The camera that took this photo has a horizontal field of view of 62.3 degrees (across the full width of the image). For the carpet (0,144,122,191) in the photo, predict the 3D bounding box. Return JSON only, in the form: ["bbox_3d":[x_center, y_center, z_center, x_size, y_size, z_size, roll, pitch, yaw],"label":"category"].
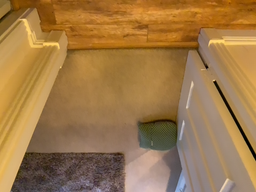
[{"bbox_3d":[-0.710,1.120,2.410,1.280,0.120,1.720,0,131,-1],"label":"carpet"}]
